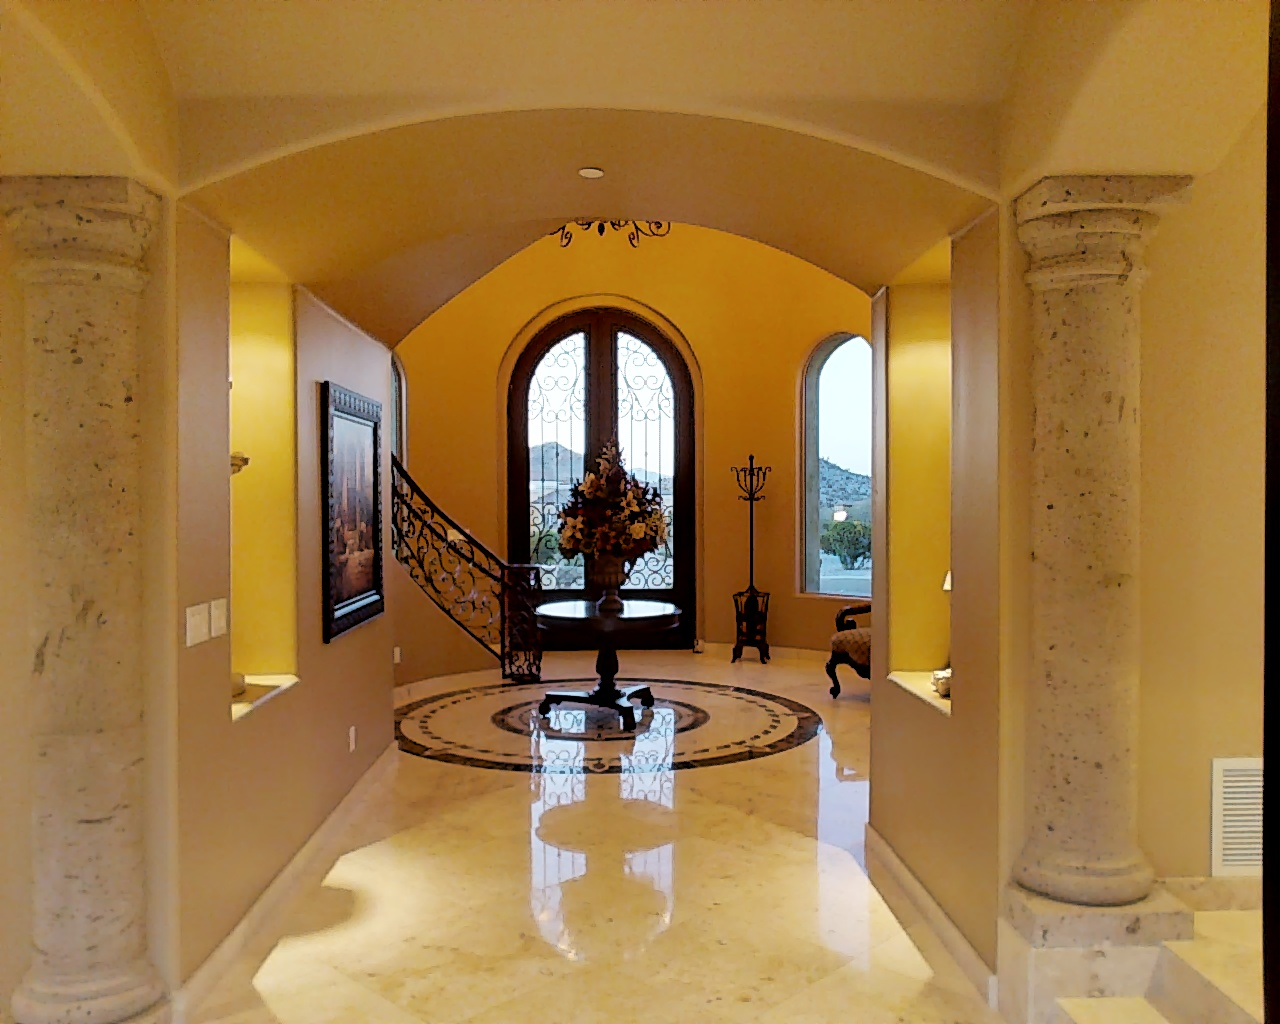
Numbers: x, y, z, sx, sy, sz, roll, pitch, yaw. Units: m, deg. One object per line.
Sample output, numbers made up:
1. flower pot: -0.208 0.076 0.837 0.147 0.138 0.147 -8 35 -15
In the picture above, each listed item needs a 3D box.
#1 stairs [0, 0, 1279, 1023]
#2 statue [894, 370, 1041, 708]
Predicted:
1. stairs: -0.070 -0.850 2.550 2.550 1.420 6.080 -17 48 -18
2. statue: 1.230 0.090 4.070 0.350 1.190 0.610 -1 1 -2
